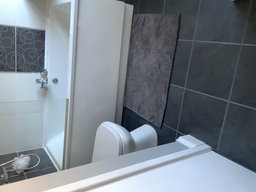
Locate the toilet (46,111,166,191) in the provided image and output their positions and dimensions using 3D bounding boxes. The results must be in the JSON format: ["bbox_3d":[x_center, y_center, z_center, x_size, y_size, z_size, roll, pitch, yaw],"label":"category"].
[{"bbox_3d":[-0.180,0.550,1.720,0.390,0.810,0.710,25,112,50],"label":"toilet"}]
